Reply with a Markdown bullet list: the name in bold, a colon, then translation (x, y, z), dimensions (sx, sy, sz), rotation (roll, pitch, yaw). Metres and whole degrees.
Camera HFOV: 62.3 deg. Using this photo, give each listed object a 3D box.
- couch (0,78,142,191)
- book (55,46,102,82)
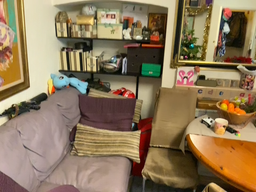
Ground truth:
- **couch**: translation (-0.470, 0.540, 1.750), dimensions (1.010, 0.850, 2.030), rotation (4, 19, 6)
- **book**: translation (-0.600, -0.420, 2.670), dimensions (0.420, 0.360, 0.430), rotation (6, 19, 10)
